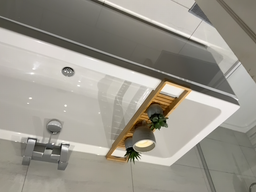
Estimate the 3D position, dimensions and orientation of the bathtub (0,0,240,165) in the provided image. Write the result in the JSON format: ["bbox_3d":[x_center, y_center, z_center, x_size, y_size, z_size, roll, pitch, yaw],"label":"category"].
[{"bbox_3d":[-0.340,-0.130,1.200,1.660,0.560,0.690,15,132,-21],"label":"bathtub"}]
